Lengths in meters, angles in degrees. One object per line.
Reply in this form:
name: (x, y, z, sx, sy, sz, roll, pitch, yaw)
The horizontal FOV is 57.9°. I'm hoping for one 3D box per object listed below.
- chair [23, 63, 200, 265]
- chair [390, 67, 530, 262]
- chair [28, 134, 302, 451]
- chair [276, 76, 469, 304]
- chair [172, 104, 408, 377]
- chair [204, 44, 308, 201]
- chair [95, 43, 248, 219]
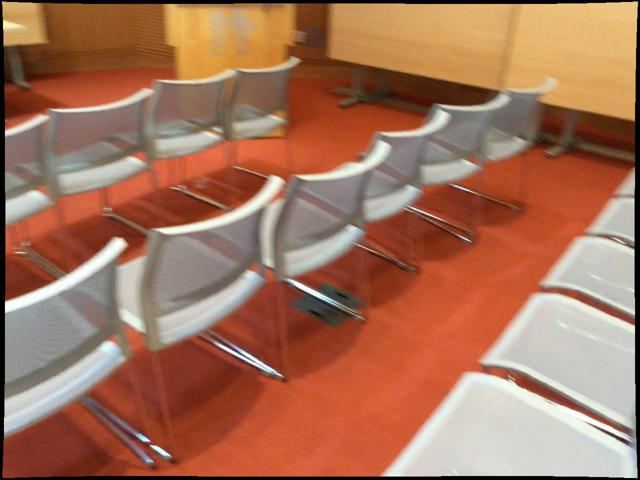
chair: (-0.889, -0.370, 2.630, 0.240, 0.701, 0.690, 17, 32, 25)
chair: (0.679, -0.390, 2.800, 0.280, 0.721, 0.720, 22, 35, 31)
chair: (-0.450, 0.120, 1.830, 0.570, 0.681, 0.530, 23, 36, 33)
chair: (0.220, -0.260, 2.570, 0.540, 0.731, 0.640, 22, 35, 31)
chair: (-0.100, -0.040, 2.180, 0.590, 0.721, 0.580, 19, 34, 28)
chair: (-0.340, -0.661, 3.210, 0.240, 0.731, 0.510, 27, 38, 37)
chair: (-0.739, -0.581, 2.960, 0.500, 0.691, 0.520, -25, 39, -39)
